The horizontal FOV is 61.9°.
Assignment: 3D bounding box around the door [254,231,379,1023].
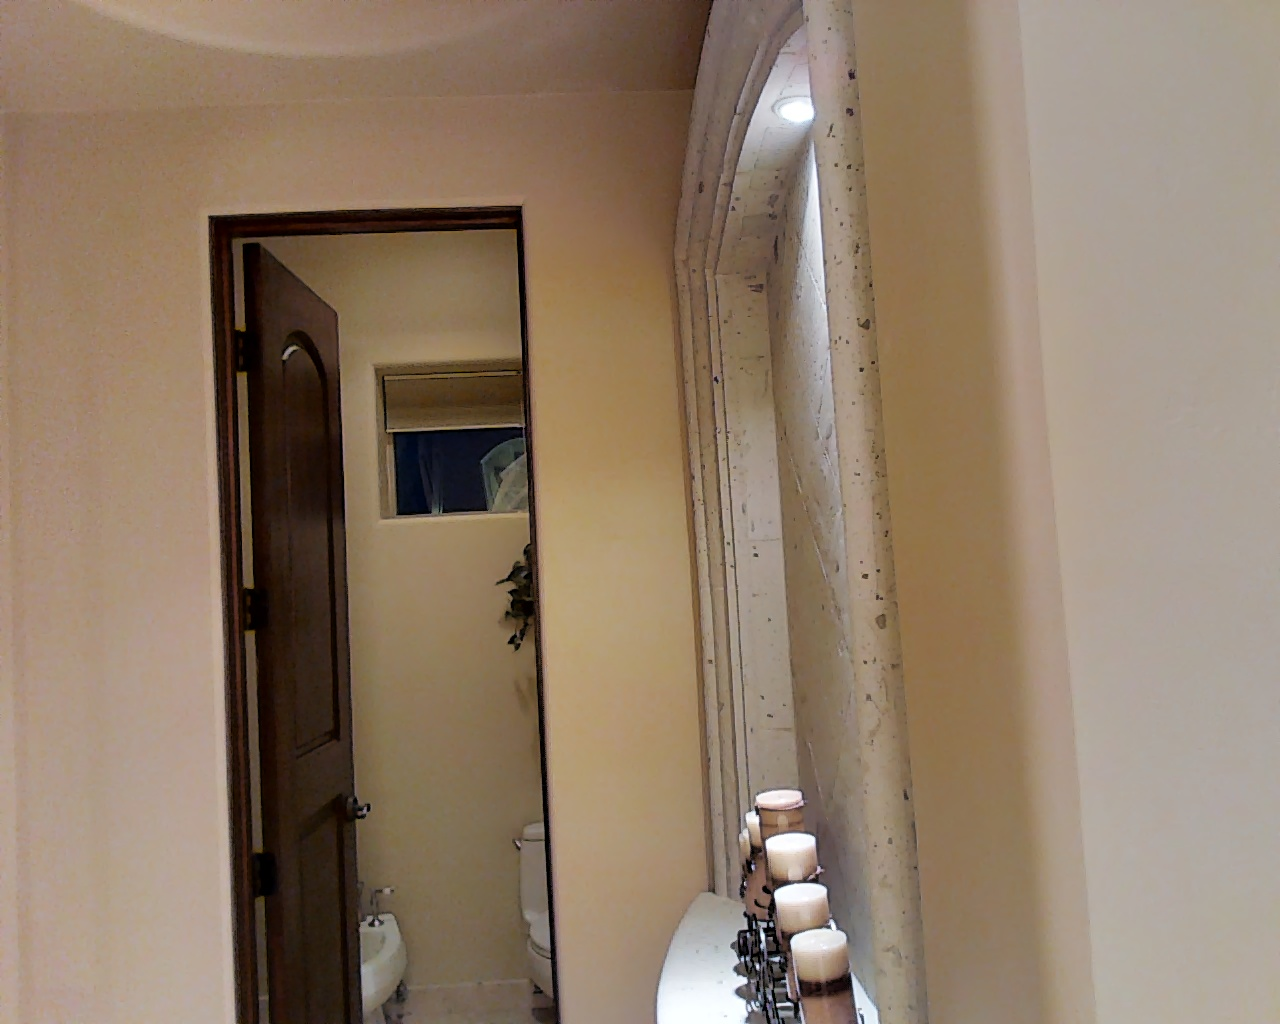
[{"bbox_3d":[-0.870,0.540,2.940,0.040,2.420,0.780,-3,-4,-2],"label":"door"}]
